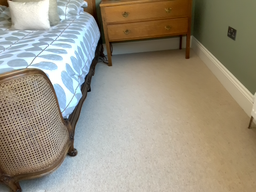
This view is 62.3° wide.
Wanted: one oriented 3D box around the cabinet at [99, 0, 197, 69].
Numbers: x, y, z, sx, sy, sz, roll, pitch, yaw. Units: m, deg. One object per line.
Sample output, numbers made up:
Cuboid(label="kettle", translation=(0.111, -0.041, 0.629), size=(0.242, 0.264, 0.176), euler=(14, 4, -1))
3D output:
Cuboid(label="cabinet", translation=(0.230, -0.800, 2.580), size=(1.030, 0.730, 0.440), euler=(-4, 31, 1))
